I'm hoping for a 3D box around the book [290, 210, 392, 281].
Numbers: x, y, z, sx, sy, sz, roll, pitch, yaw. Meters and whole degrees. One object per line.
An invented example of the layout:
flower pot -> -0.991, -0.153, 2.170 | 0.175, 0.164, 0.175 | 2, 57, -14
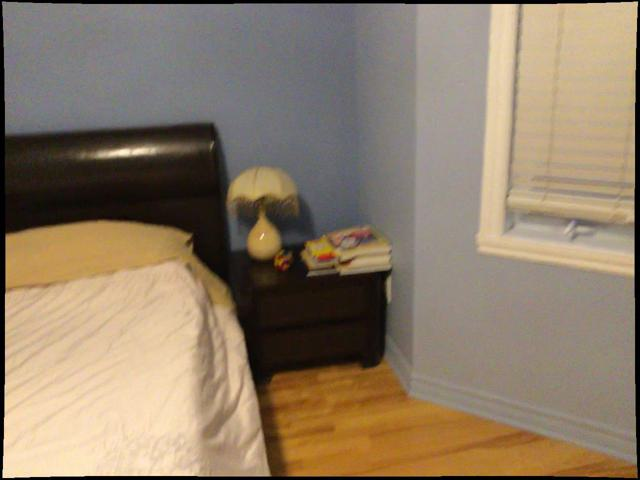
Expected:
book -> 0.080, 0.010, 2.540 | 0.340, 0.120, 0.440 | -8, 21, -12
